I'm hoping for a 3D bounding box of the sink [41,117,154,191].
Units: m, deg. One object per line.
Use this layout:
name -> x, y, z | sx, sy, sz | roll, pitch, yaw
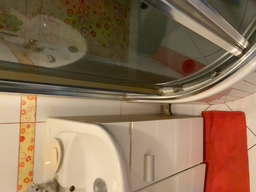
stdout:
sink -> -0.130, 0.340, 0.730 | 0.420, 0.140, 0.500 | 0, 87, 42
